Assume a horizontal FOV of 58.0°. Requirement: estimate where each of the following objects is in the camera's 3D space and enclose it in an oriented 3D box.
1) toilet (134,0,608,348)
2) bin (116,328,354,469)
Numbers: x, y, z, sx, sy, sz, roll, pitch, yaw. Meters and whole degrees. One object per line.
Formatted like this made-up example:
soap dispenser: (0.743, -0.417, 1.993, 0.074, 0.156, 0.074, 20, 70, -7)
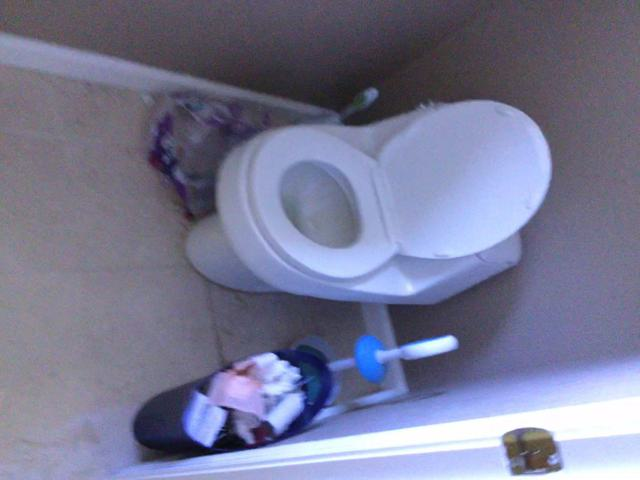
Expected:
toilet: (0.100, -0.100, 1.380, 0.770, 0.490, 0.700, -25, -18, 40)
bin: (-0.180, 0.330, 1.220, 0.330, 0.190, 0.340, -25, -18, 40)
